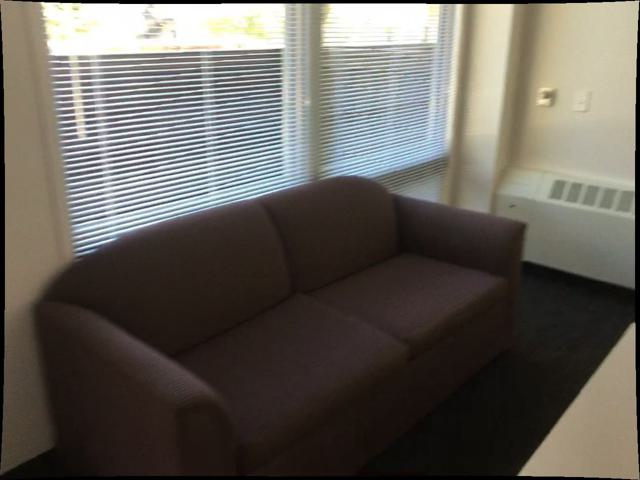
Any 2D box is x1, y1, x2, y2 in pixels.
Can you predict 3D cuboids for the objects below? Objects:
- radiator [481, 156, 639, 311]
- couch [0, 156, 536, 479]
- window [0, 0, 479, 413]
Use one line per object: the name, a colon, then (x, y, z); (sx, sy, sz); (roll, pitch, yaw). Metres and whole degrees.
radiator: (1.837, 0.080, 2.900); (2.078, 0.641, 0.200); (19, 29, 39)
couch: (-0.050, 0.290, 2.230); (0.929, 0.781, 1.789); (19, 29, 39)
window: (-0.060, -0.681, 2.570); (0.290, 1.993, 2.418); (19, 29, 39)
